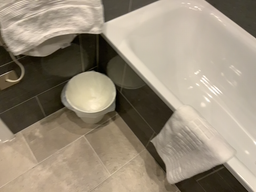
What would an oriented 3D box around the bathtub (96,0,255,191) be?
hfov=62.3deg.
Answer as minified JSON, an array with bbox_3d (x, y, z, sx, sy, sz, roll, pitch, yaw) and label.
[{"bbox_3d":[0.580,0.240,1.110,0.690,0.600,1.670,-30,67,-24],"label":"bathtub"}]

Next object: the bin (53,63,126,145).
[{"bbox_3d":[-0.230,0.050,1.280,0.270,0.290,0.310,-29,67,-23],"label":"bin"}]
